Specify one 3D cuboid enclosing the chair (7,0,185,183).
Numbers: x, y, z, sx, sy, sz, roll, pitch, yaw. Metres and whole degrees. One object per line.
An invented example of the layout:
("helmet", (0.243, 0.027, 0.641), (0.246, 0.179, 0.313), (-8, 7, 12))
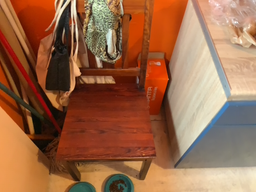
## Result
("chair", (-0.100, 0.040, 1.050), (0.440, 0.900, 0.540), (0, 56, -3))
